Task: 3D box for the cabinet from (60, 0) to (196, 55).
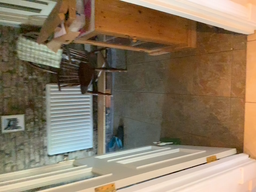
[{"bbox_3d":[0.000,-0.640,1.760,0.620,0.940,0.450,5,96,56],"label":"cabinet"}]
